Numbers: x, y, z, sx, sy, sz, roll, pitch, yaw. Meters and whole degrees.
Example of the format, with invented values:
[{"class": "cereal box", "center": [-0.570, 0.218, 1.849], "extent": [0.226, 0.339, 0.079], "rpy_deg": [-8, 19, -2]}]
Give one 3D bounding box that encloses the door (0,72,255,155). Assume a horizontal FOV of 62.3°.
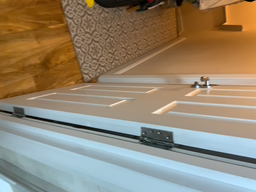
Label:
[{"class": "door", "center": [0.330, -0.020, 0.960], "extent": [0.980, 2.040, 0.040], "rpy_deg": [-21, 110, -52]}]
